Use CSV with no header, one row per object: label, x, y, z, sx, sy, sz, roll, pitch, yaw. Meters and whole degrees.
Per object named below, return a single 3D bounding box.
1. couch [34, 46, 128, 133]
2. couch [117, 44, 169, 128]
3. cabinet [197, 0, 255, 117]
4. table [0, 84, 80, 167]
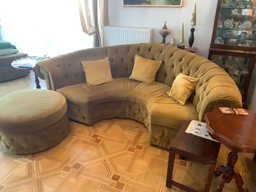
couch,-0.630,-0.170,2.970,0.970,0.800,0.810,-17,31,-32
couch,0.220,-0.180,2.930,0.370,0.870,0.840,13,29,24
cabinet,1.430,-0.730,2.800,0.680,1.980,0.410,10,27,18
table,-1.140,0.270,2.450,0.800,0.450,0.800,10,27,18
